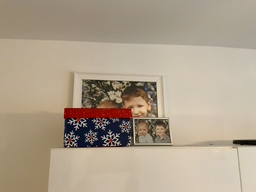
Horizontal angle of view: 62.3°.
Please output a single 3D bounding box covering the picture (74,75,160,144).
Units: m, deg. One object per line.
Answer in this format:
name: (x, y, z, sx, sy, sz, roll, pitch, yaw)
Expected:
picture: (-0.050, 0.070, 1.070, 0.410, 0.330, 0.060, 2, -12, -10)
